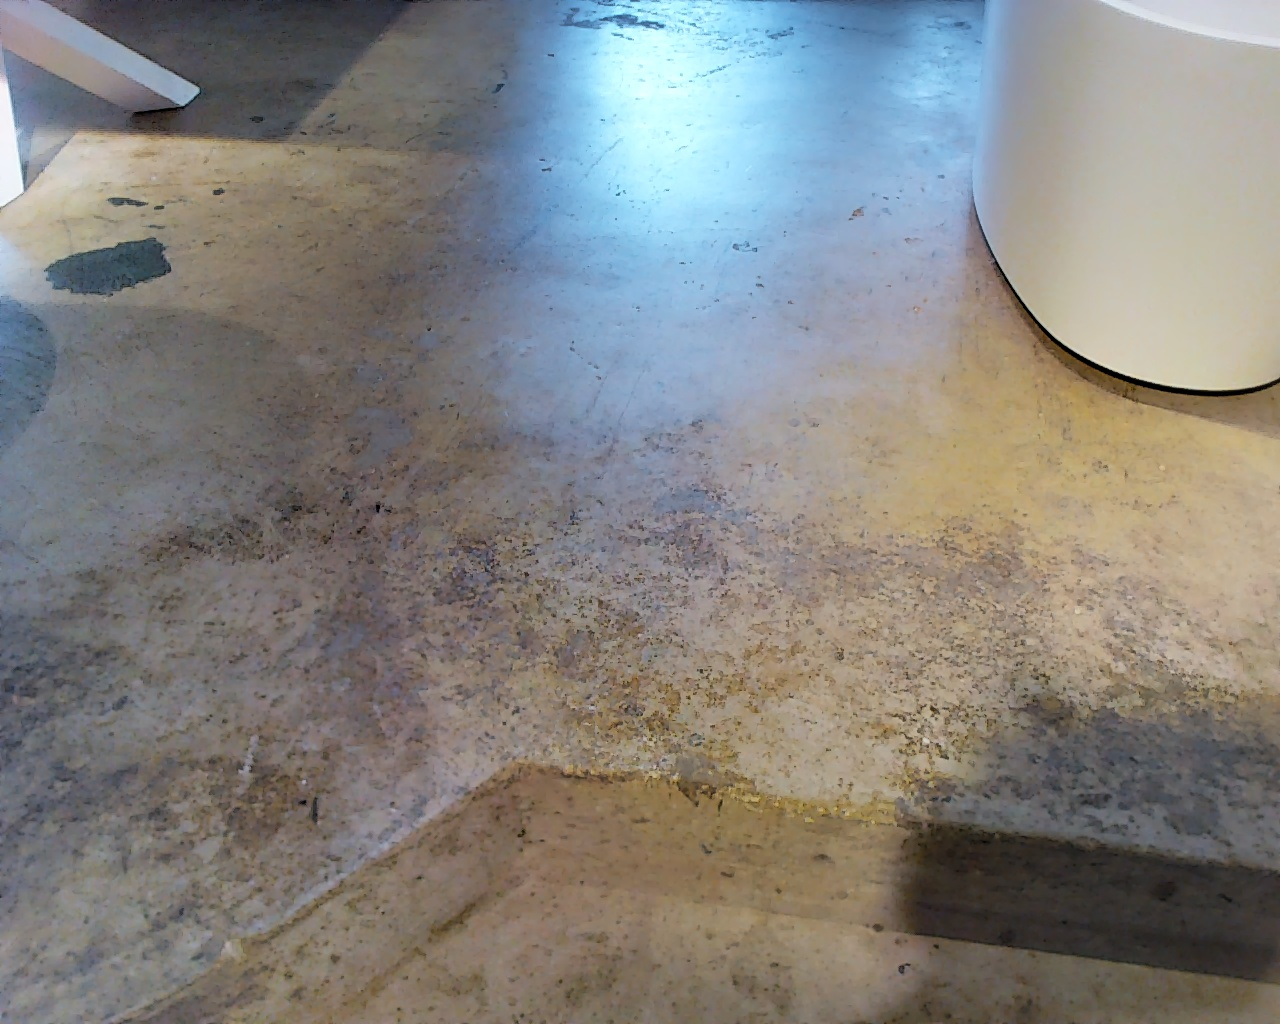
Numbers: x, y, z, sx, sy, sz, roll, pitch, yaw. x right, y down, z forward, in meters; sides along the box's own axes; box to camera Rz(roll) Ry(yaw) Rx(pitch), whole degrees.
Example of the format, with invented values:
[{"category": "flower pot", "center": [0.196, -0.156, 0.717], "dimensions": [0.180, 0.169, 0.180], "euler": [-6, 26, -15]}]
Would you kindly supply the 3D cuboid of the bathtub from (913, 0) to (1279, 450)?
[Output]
[{"category": "bathtub", "center": [1.080, -0.890, 2.210], "dimensions": [0.850, 0.680, 1.550], "euler": [6, 43, 6]}]
